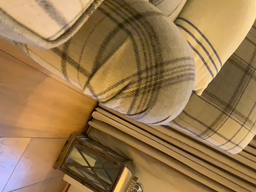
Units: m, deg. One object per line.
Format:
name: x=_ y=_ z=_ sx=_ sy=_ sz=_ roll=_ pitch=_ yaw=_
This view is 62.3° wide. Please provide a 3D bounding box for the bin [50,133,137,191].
bin: x=-0.230 y=0.510 z=1.480 sx=0.290 sy=0.470 sz=0.230 roll=-64 pitch=168 yaw=0
